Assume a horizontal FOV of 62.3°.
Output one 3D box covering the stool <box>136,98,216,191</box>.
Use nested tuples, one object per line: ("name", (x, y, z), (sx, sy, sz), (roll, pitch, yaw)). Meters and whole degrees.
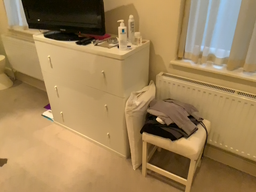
("stool", (0.370, 0.380, 1.710), (0.460, 0.500, 0.380), (20, 36, 30))
